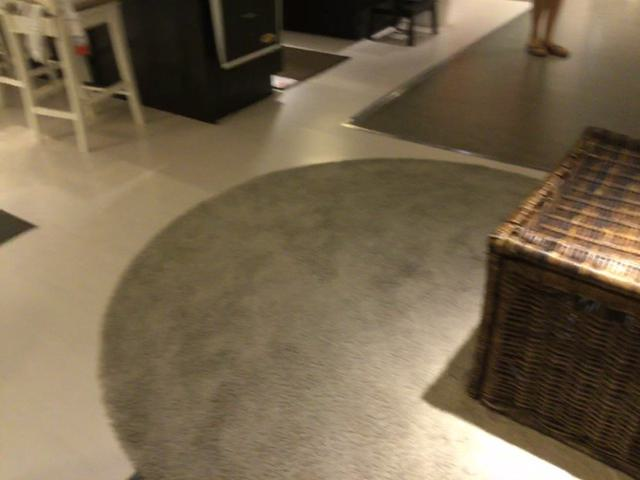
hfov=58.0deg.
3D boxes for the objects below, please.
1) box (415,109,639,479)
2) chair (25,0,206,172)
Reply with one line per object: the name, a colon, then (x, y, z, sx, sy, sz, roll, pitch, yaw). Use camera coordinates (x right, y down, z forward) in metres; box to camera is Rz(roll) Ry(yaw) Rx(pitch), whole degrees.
box: (0.800, 0.120, 1.450, 0.800, 0.550, 0.760, 22, 39, 33)
chair: (-0.970, -0.890, 2.790, 0.500, 0.900, 0.520, 22, 39, 33)
